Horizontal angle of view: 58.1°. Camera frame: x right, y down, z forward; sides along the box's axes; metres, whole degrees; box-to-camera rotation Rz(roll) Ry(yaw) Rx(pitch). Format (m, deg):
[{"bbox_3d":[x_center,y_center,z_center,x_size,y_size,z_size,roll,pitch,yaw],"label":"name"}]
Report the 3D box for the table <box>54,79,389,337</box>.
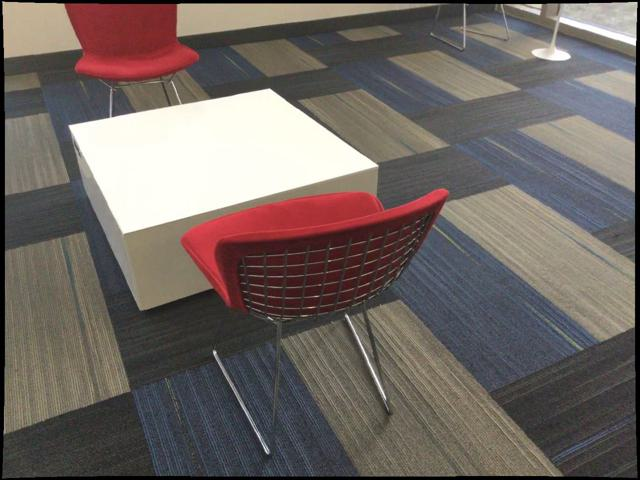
[{"bbox_3d":[-0.429,-0.231,2.350,0.988,0.361,1.010,-19,40,-23],"label":"table"}]
